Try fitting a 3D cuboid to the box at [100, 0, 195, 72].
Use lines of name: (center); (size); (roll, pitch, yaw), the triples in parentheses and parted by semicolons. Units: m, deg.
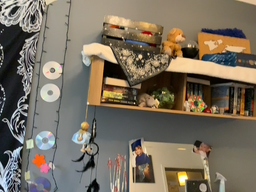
box: (0.110, -0.360, 1.380); (0.530, 0.300, 0.280); (7, -4, -12)
